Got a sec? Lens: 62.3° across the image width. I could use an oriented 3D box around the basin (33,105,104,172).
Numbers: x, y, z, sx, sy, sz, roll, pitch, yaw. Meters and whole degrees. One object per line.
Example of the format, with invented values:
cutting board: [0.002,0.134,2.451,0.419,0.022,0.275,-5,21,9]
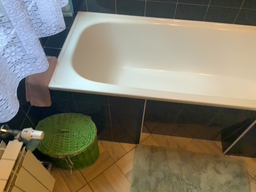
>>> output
basin: [-0.360,0.290,1.400,0.320,0.350,0.260,9,54,5]
